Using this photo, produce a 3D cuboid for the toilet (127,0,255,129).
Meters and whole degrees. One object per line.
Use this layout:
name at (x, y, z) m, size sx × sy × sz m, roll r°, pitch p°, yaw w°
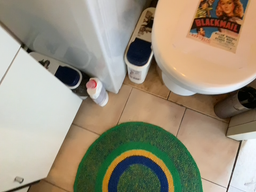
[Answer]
toilet at (0.310, -0.310, 0.760) m, size 0.380 × 0.860 × 0.680 m, roll 22°, pitch 78°, yaw 6°
